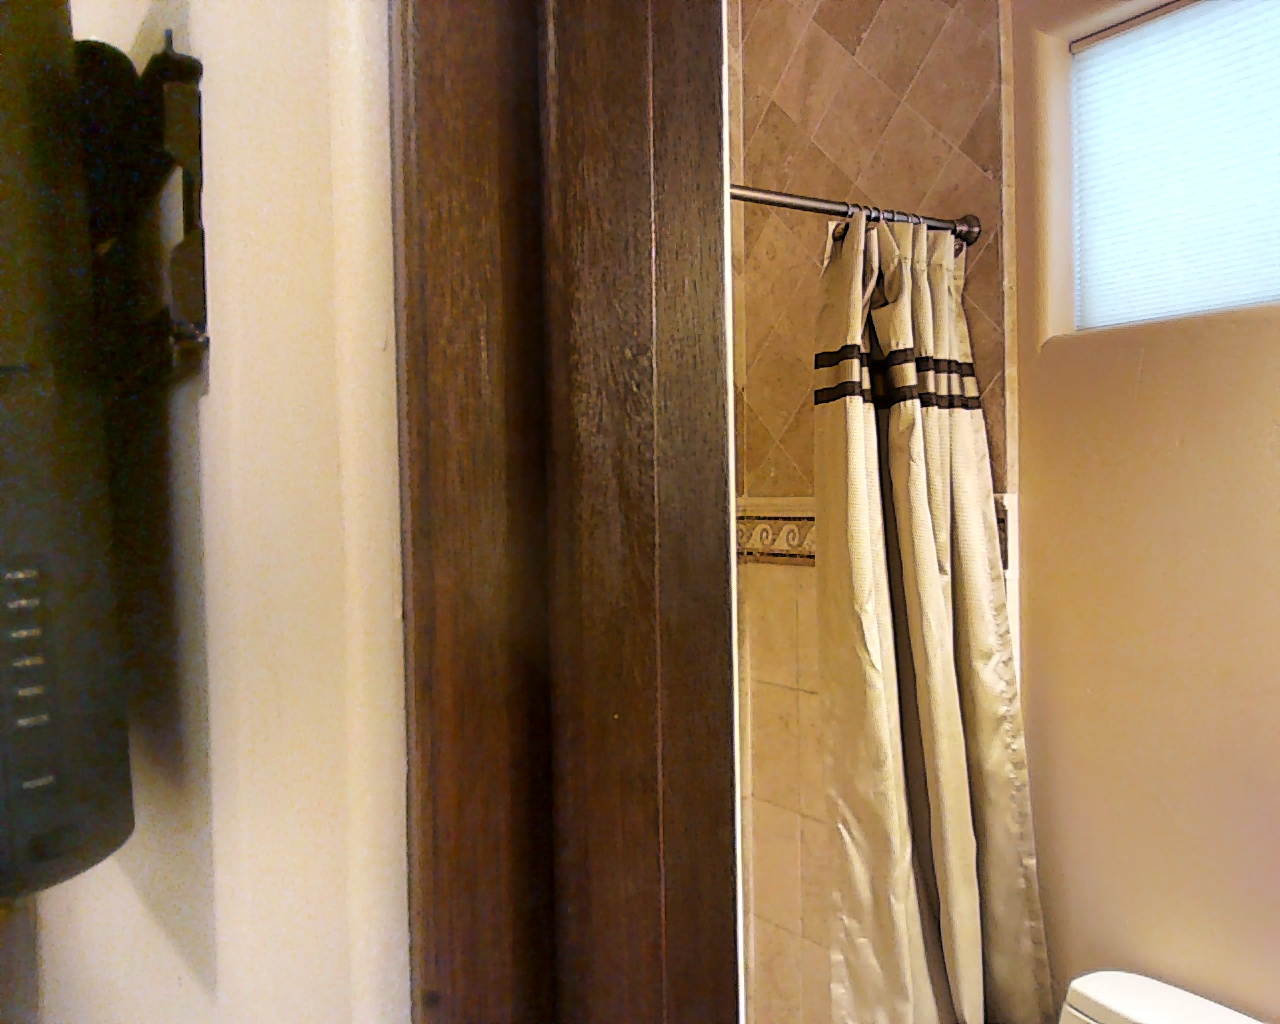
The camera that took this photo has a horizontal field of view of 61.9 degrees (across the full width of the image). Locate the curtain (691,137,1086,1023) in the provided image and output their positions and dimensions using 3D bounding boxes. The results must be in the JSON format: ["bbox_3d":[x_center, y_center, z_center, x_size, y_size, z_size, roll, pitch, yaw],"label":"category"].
[{"bbox_3d":[0.460,0.450,1.940,0.560,2.050,0.380,-2,1,-33],"label":"curtain"}]
